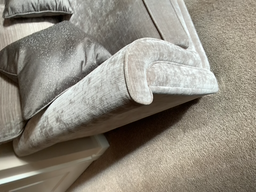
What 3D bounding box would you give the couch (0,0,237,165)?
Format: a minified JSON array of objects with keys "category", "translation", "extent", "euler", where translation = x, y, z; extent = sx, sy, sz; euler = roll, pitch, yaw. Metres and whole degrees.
[{"category":"couch","translation":[-0.380,-0.640,1.260],"extent":[1.070,0.930,1.760],"euler":[-28,73,39]}]
